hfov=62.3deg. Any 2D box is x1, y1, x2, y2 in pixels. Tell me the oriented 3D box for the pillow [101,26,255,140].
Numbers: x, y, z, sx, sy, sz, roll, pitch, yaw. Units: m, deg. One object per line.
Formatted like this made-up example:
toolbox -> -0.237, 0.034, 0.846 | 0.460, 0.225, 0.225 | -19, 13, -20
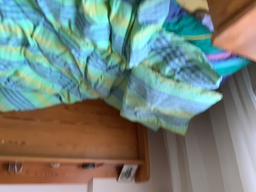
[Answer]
pillow -> 0.170, 0.020, 1.030 | 0.390, 0.220, 0.670 | 10, 153, -25
